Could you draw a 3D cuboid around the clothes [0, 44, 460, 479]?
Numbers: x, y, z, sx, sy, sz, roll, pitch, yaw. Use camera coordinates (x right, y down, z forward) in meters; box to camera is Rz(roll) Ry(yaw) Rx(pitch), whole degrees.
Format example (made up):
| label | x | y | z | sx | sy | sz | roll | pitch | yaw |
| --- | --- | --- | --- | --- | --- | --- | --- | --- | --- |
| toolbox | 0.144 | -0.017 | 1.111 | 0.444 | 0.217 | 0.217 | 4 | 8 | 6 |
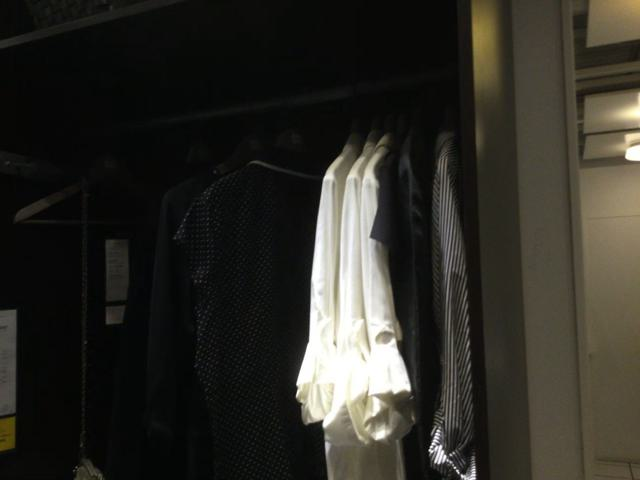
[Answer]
| label | x | y | z | sx | sy | sz | roll | pitch | yaw |
| --- | --- | --- | --- | --- | --- | --- | --- | --- | --- |
| clothes | -0.120 | 0.290 | 1.060 | 0.700 | 1.060 | 0.400 | -6 | -3 | 11 |
